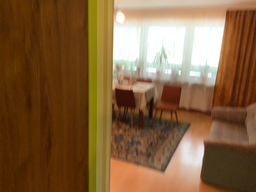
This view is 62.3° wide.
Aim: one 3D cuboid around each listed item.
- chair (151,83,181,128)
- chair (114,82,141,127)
[{"bbox_3d":[0.790,0.180,4.410,0.430,0.770,0.470,10,16,26],"label":"chair"},{"bbox_3d":[-0.010,0.160,4.350,0.400,0.770,0.470,7,15,17],"label":"chair"}]
